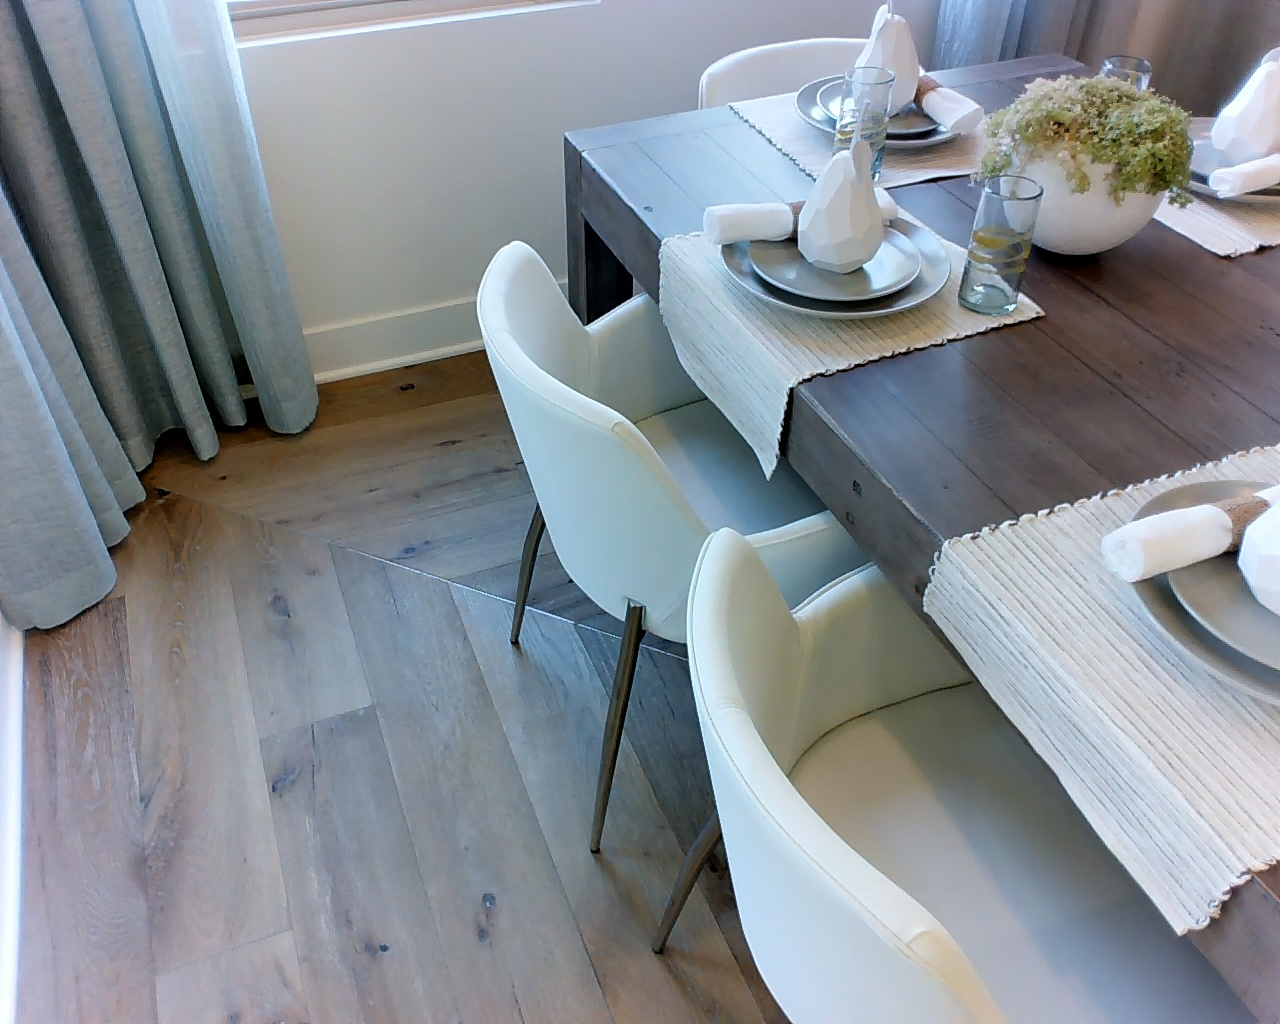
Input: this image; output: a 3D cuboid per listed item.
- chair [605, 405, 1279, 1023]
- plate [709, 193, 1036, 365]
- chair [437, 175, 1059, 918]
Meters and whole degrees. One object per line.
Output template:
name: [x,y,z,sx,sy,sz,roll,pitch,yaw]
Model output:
chair: [0.330,0.430,1.100,0.530,0.750,0.650,-15,44,-17]
plate: [0.290,-0.310,1.380,0.320,0.050,0.260,-15,44,-17]
chair: [0.090,0.040,1.570,0.550,0.780,0.600,-15,44,-17]
